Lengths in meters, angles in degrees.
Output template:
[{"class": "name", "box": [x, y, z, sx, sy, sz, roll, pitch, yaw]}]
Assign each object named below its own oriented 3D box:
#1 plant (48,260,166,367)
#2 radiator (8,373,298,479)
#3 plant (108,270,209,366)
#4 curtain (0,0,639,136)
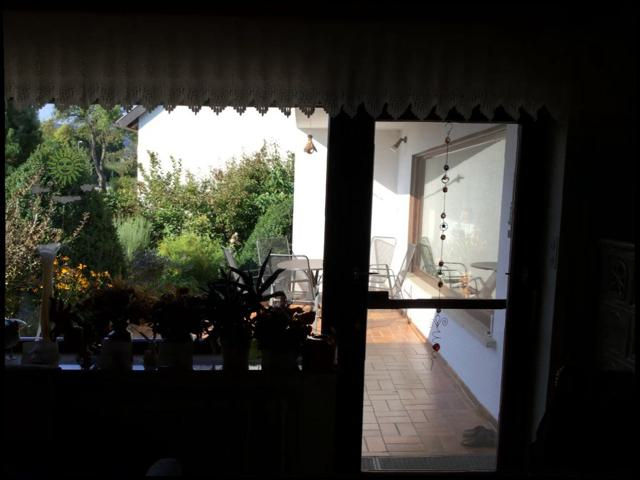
[{"class": "plant", "box": [-0.919, 0.310, 2.550, 0.400, 0.400, 0.340, 1, 6, -4]}, {"class": "radiator", "box": [-0.719, 0.981, 2.630, 1.219, 0.681, 0.250, 1, 6, -4]}, {"class": "plant", "box": [-0.709, 0.340, 2.590, 0.390, 0.370, 0.260, 1, 6, -4]}, {"class": "curtain", "box": [-0.450, -0.721, 2.300, 4.336, 0.490, 0.310, 1, 6, -4]}]
